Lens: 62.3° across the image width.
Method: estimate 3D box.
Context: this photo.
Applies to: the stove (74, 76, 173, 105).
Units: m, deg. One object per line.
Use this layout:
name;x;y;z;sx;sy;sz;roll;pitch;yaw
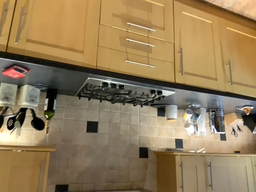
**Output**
stove;-0.060;-0.020;1.680;0.640;0.020;0.520;8;164;-22
